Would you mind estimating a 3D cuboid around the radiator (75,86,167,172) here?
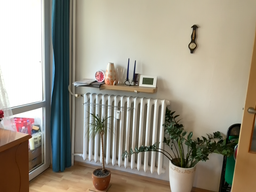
[{"bbox_3d":[-0.120,0.370,2.650,1.100,0.880,0.190,7,10,18],"label":"radiator"}]
